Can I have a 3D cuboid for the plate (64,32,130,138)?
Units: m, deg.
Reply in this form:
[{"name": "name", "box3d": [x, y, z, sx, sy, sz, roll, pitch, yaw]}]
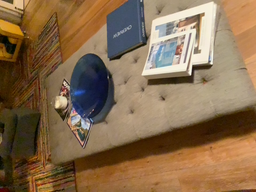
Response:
[{"name": "plate", "box3d": [-0.230, -0.040, 1.330, 0.520, 0.060, 0.500, -26, 66, 40]}]
